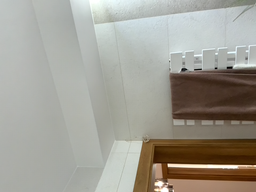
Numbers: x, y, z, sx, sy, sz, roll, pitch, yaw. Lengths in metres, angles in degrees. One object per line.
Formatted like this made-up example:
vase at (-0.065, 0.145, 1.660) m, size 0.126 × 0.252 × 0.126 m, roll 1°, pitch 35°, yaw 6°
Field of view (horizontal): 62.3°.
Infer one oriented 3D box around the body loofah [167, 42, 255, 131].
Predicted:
body loofah at (0.750, -0.050, 1.230) m, size 0.150 × 1.010 × 0.490 m, roll -70°, pitch -25°, yaw -63°
